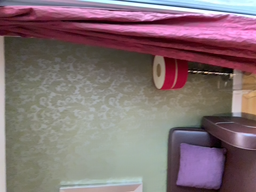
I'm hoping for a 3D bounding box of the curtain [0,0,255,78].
[{"bbox_3d":[0.220,-0.320,1.430,0.480,2.200,0.310,-174,85,-79],"label":"curtain"}]
